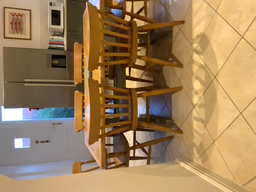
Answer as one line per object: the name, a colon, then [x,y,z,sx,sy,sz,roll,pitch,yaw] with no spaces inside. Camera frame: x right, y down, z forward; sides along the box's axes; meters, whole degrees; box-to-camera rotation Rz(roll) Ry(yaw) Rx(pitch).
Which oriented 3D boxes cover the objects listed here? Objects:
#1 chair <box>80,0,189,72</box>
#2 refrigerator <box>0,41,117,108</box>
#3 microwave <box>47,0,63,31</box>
chair: [0.020,-0.460,1.840,0.530,0.790,0.380,163,106,-70]
refrigerator: [-1.140,-0.340,3.690,0.700,1.780,0.970,-171,81,-71]
microwave: [-1.260,-1.400,3.650,0.230,0.250,0.480,-173,82,-71]
